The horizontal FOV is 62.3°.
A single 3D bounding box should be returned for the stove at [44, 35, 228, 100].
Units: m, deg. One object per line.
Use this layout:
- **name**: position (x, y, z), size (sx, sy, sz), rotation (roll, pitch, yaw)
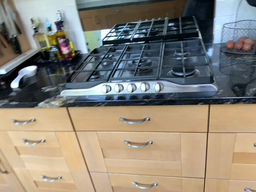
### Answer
- **stove**: position (0.050, -0.170, 1.090), size (0.730, 0.050, 0.590), rotation (-2, 32, 12)
